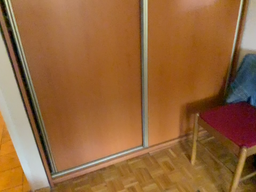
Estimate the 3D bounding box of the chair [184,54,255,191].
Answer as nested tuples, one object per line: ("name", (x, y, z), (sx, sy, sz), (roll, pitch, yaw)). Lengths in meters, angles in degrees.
("chair", (0.770, 0.200, 1.430), (0.540, 0.800, 0.430), (-12, 30, -19))
